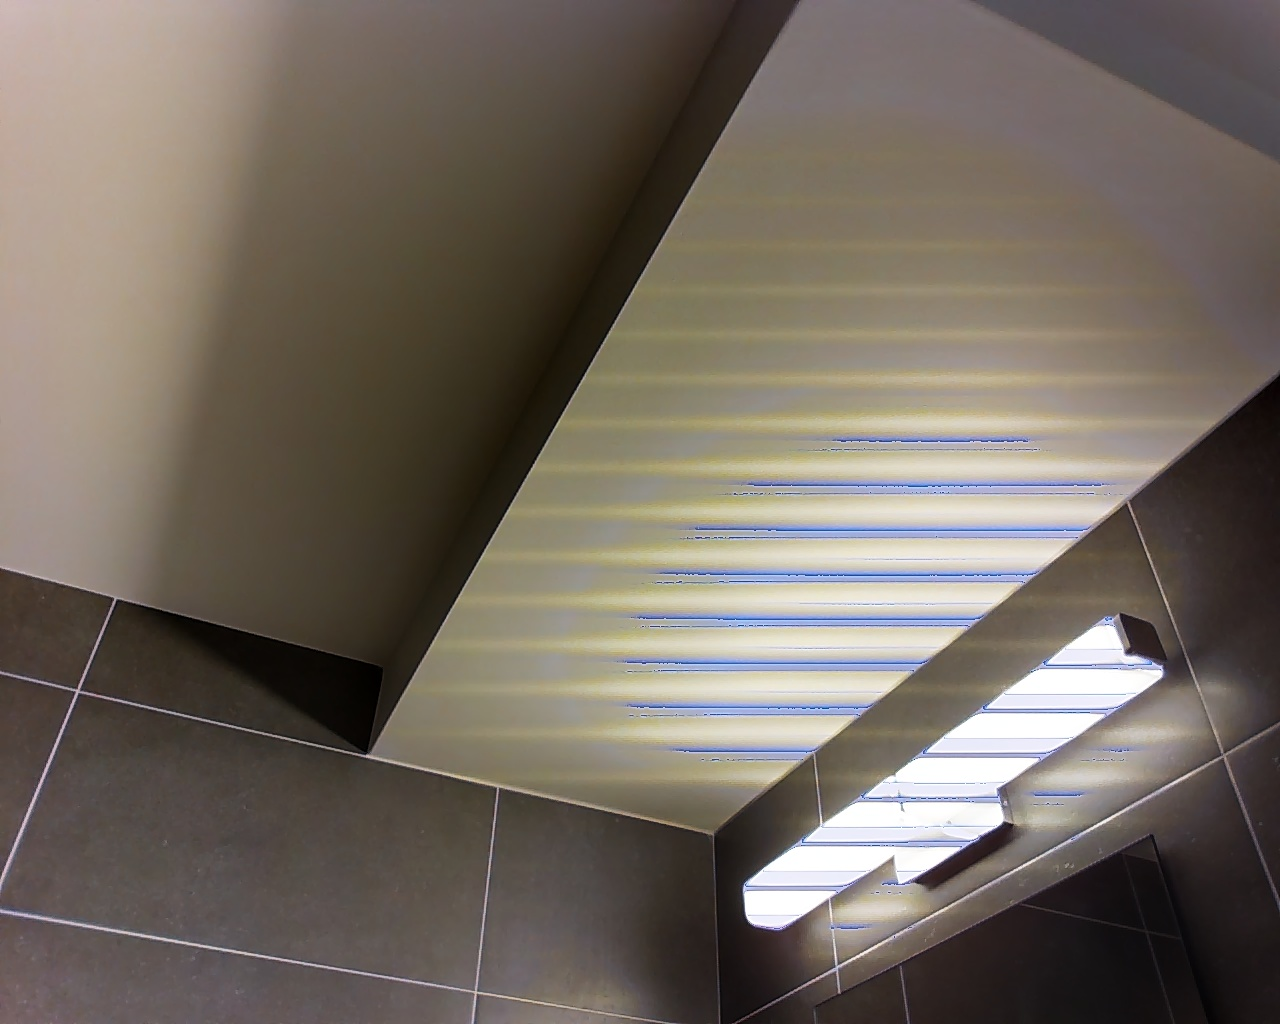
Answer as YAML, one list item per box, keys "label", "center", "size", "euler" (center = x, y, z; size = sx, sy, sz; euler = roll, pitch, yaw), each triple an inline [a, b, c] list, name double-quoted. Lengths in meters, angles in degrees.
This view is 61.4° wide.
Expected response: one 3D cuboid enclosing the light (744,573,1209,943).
- label: "light"
  center: [0.330, 0.320, 1.240]
  size: [0.090, 0.110, 0.700]
  euler: [18, -44, -17]
